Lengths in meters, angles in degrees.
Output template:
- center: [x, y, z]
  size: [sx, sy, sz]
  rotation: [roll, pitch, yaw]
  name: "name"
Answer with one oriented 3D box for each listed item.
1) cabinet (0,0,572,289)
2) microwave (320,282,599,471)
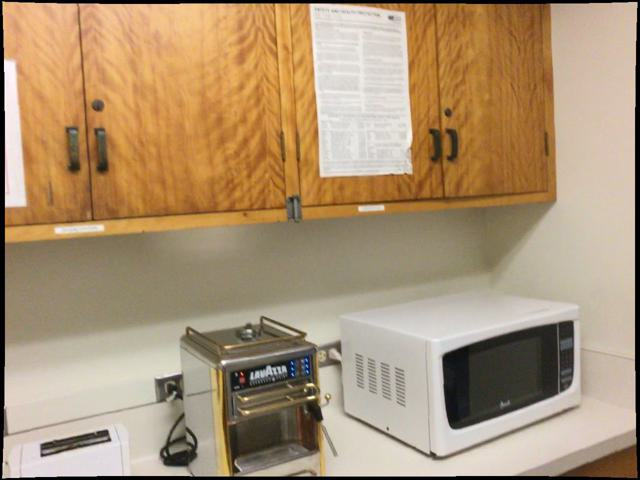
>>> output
- center: [-0.190, -0.511, 1.550]
  size: [1.936, 1.043, 0.410]
  rotation: [-8, 5, -27]
  name: "cabinet"
- center: [0.399, 0.351, 1.720]
  size: [0.609, 0.311, 0.500]
  rotation: [-8, 5, -27]
  name: "microwave"
